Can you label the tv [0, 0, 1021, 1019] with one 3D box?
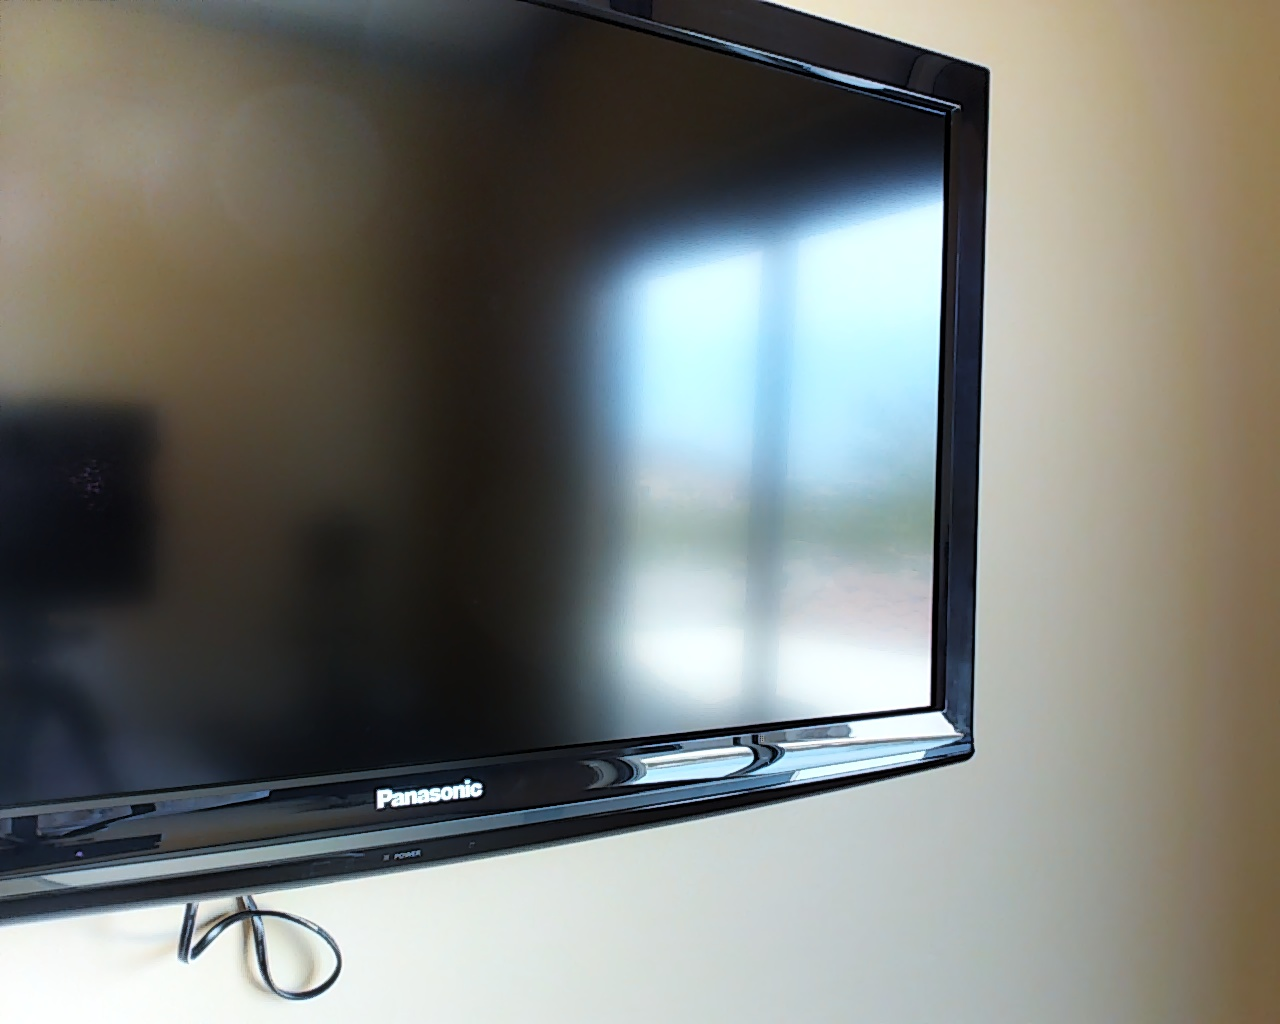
[{"bbox_3d":[-0.130,-0.070,0.690,0.930,0.630,0.130,0,0,-29],"label":"tv"}]
